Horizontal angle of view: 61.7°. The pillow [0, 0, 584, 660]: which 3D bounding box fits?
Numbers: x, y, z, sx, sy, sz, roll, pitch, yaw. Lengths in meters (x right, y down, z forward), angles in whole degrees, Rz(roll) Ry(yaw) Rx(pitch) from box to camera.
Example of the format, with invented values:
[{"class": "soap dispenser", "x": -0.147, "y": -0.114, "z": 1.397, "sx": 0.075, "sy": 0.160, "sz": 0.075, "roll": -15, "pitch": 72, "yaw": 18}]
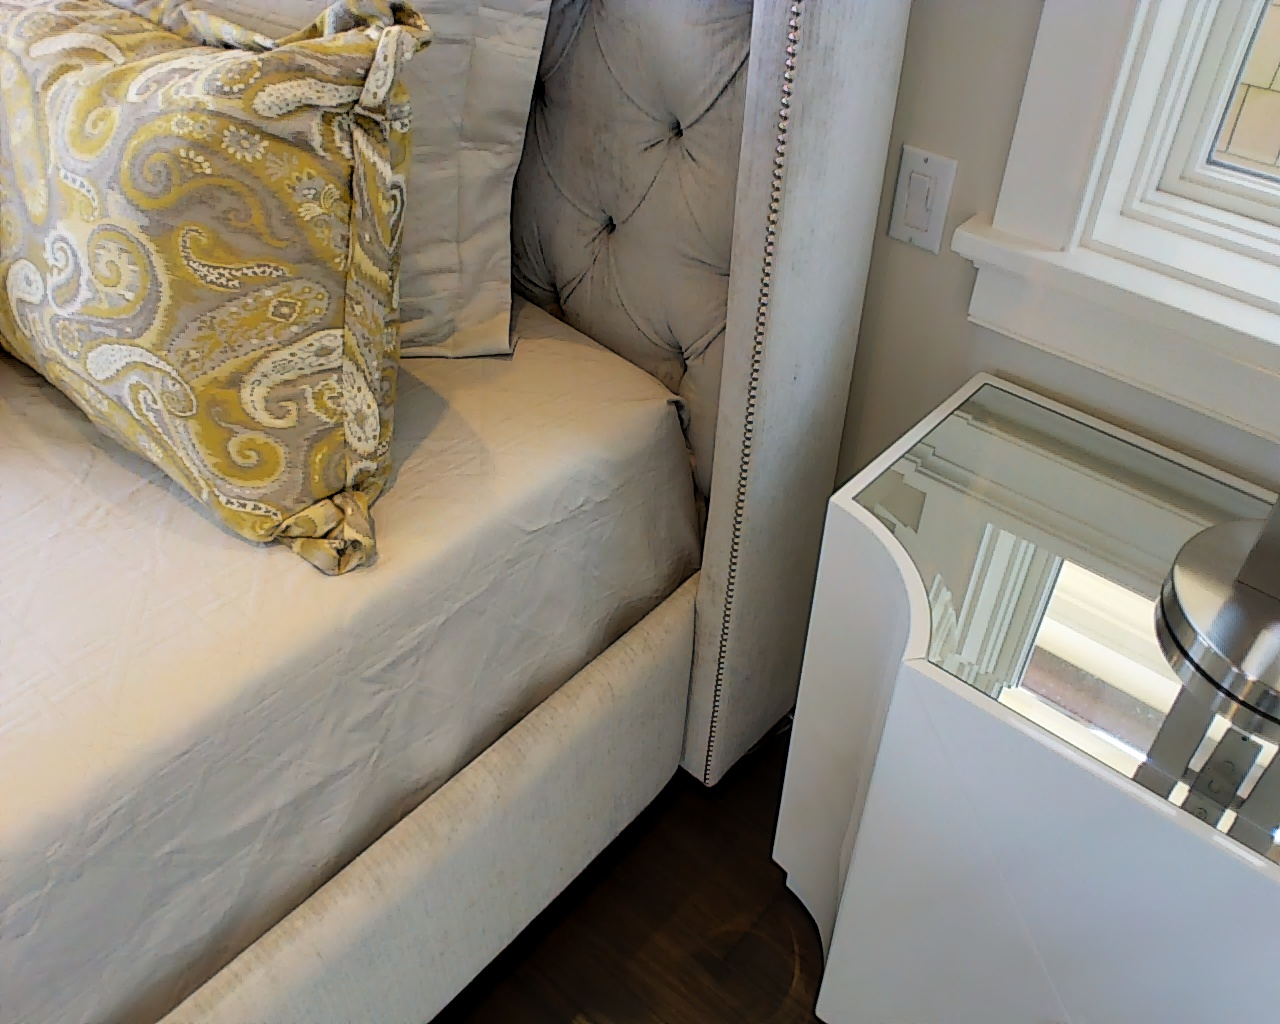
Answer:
[{"class": "pillow", "x": -0.540, "y": -0.360, "z": 1.230, "sx": 0.360, "sy": 0.540, "sz": 0.950, "roll": -23, "pitch": 44, "yaw": -40}]
